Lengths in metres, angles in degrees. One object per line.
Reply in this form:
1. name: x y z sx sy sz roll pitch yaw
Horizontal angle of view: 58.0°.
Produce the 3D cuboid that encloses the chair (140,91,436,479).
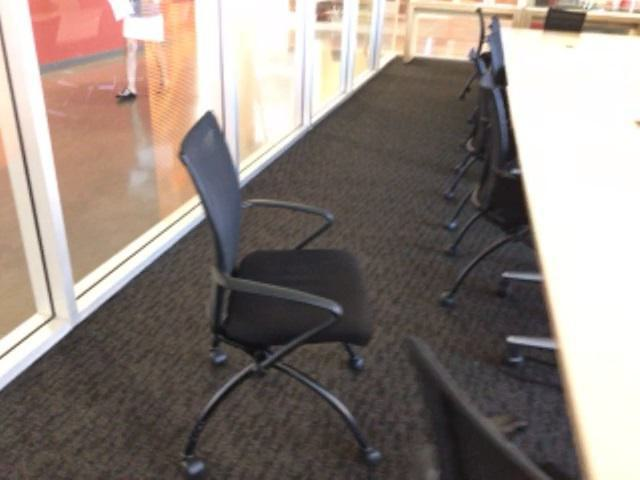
1. chair: -0.080 0.120 1.670 0.600 0.910 0.640 3 29 0
